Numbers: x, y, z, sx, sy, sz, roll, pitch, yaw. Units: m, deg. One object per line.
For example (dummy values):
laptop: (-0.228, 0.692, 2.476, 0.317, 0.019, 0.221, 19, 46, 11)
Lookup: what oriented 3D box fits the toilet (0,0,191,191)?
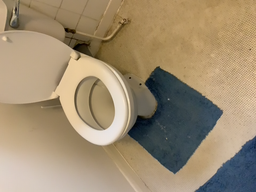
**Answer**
toilet: (-0.250, -0.070, 1.040, 0.710, 0.820, 0.460, 45, 116, 26)
